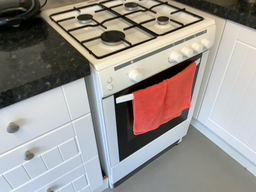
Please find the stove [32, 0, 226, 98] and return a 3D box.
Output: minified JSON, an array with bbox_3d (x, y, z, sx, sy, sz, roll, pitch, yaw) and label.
[{"bbox_3d":[-0.020,-0.330,1.010,0.640,0.120,0.630,-26,47,-26],"label":"stove"}]
